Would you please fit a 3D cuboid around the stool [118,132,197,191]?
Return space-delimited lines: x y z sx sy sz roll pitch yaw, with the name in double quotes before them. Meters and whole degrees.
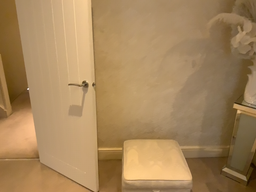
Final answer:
"stool" 0.200 0.660 1.860 0.560 0.430 0.580 1 22 -2
